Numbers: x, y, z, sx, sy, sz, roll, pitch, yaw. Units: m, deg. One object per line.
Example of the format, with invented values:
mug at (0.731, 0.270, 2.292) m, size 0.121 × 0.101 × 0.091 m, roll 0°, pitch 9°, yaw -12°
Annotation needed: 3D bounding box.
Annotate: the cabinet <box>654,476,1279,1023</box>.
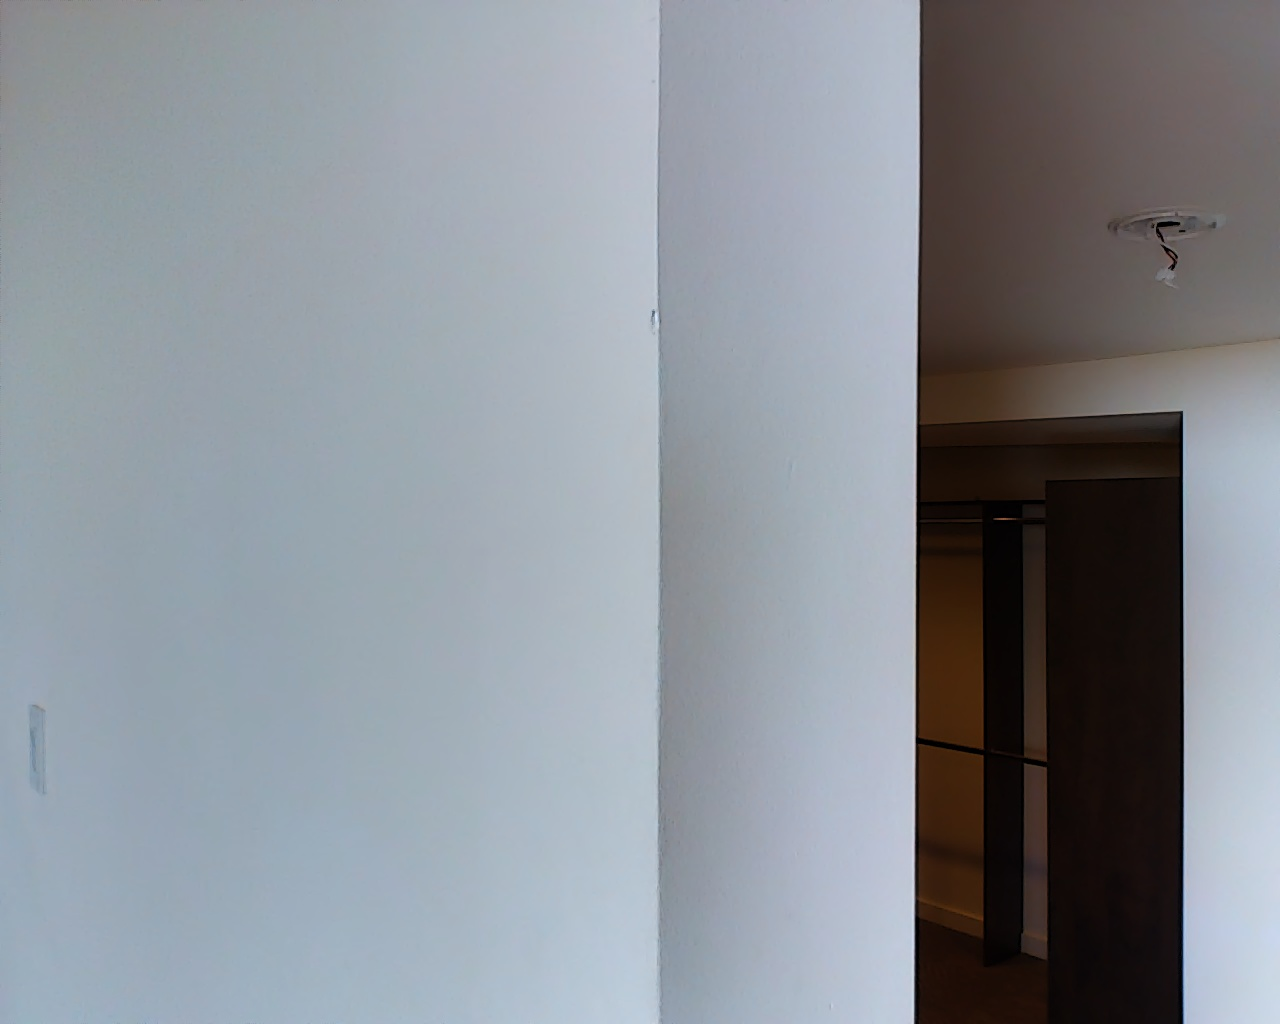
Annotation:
cabinet at (1.450, 0.980, 5.360) m, size 0.260 × 2.190 × 3.940 m, roll 0°, pitch -1°, yaw -40°
